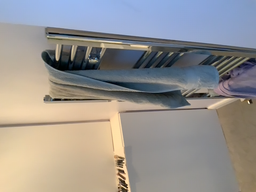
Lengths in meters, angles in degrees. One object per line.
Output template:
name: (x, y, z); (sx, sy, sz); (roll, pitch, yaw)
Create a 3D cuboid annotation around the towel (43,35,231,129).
towel: (0.000, -0.020, 0.880); (0.410, 0.650, 0.200); (140, 126, -62)
